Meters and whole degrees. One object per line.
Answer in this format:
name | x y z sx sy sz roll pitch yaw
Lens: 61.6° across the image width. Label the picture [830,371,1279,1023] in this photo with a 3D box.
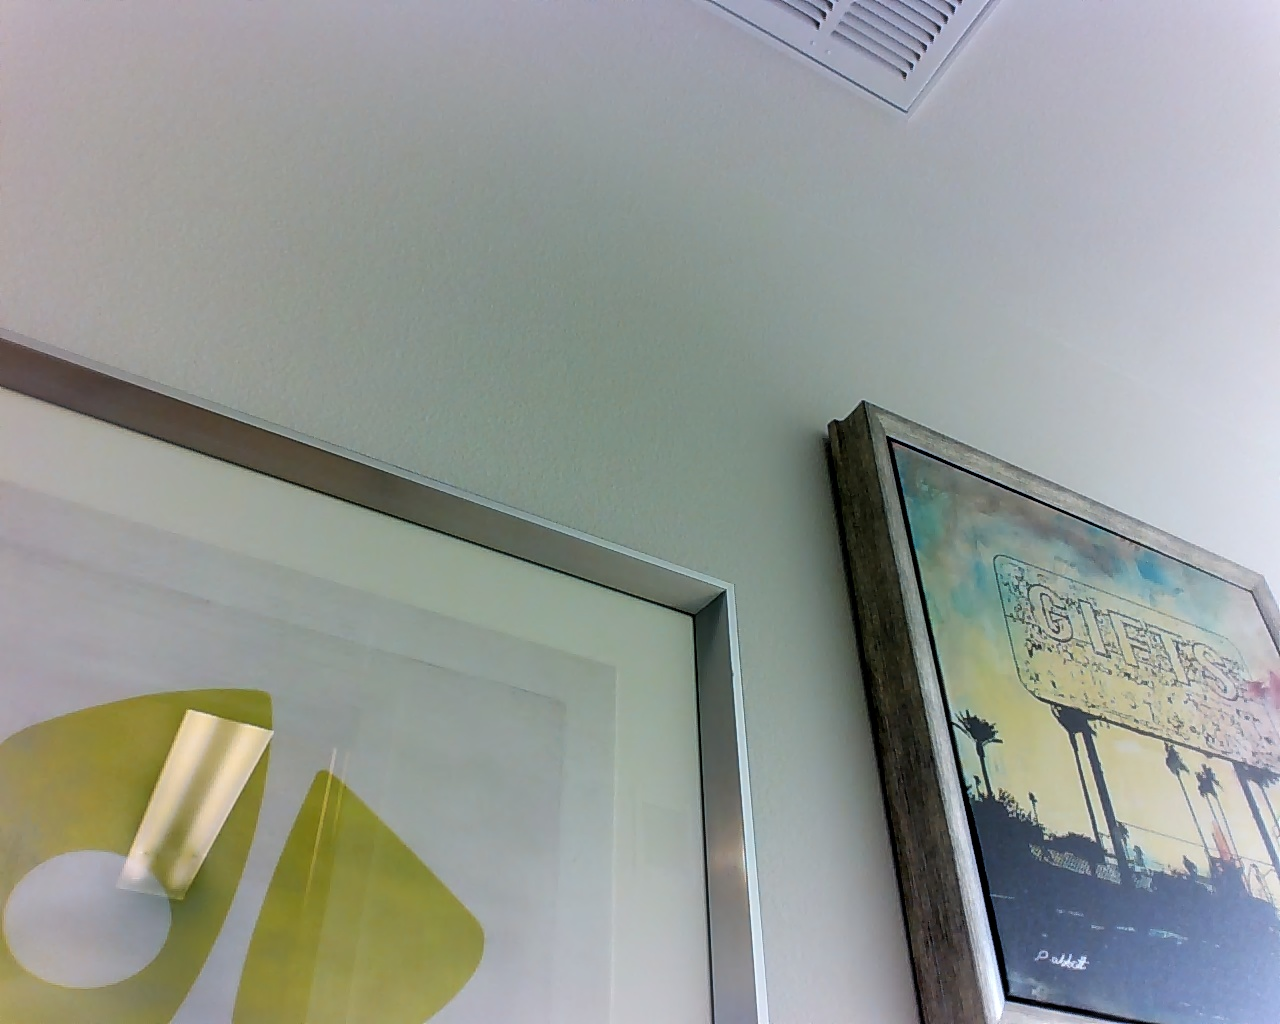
picture | 0.510 0.220 1.070 0.650 0.670 0.060 20 -45 -21
